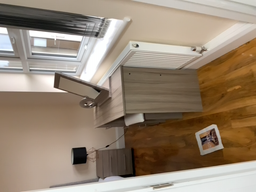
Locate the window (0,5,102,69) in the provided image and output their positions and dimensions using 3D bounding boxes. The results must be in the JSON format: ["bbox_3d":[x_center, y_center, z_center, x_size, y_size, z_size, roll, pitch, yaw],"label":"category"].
[{"bbox_3d":[-1.110,-0.560,2.240,1.150,1.410,0.100,152,117,-65],"label":"window"}]

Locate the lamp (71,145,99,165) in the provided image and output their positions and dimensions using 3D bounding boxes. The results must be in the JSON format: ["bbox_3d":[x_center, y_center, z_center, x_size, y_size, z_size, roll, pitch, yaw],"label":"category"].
[{"bbox_3d":[-0.680,0.930,3.350,0.270,0.380,0.260,139,128,-62],"label":"lamp"}]

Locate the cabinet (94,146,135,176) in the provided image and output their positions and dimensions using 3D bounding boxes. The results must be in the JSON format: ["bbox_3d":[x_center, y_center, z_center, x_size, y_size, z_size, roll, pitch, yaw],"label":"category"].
[{"bbox_3d":[-0.230,1.040,3.440,0.440,0.530,0.400,145,122,-64],"label":"cabinet"}]
